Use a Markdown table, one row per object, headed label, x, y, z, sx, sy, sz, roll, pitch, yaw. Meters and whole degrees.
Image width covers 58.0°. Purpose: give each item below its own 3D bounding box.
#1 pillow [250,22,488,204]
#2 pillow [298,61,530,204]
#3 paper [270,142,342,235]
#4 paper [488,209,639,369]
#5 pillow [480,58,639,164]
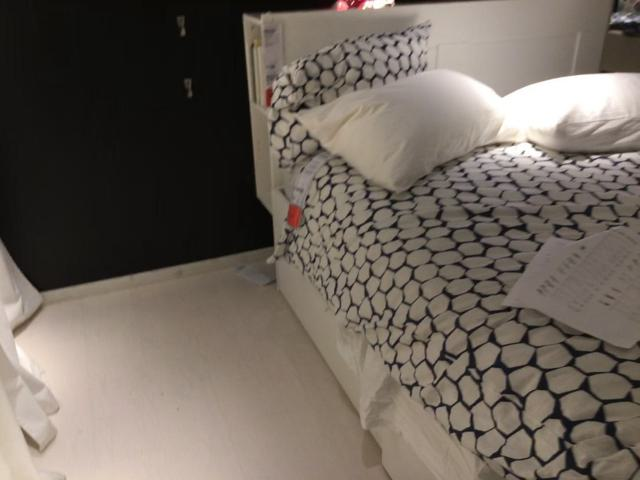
| label | x | y | z | sx | sy | sz | roll | pitch | yaw |
| --- | --- | --- | --- | --- | --- | --- | --- | --- | --- |
| pillow | 0.170 | -0.480 | 2.070 | 0.740 | 0.510 | 0.320 | -11 | 27 | -21 |
| pillow | 0.300 | -0.370 | 1.810 | 0.410 | 0.260 | 0.620 | 22 | 34 | 40 |
| paper | -0.050 | -0.180 | 1.960 | 0.160 | 0.230 | 0.240 | -11 | 27 | -21 |
| paper | 0.530 | 0.080 | 1.080 | 0.320 | 0.130 | 0.280 | 18 | 31 | 34 |
| pillow | 0.970 | -0.450 | 1.920 | 0.700 | 0.220 | 0.460 | -5 | 26 | -9 |
